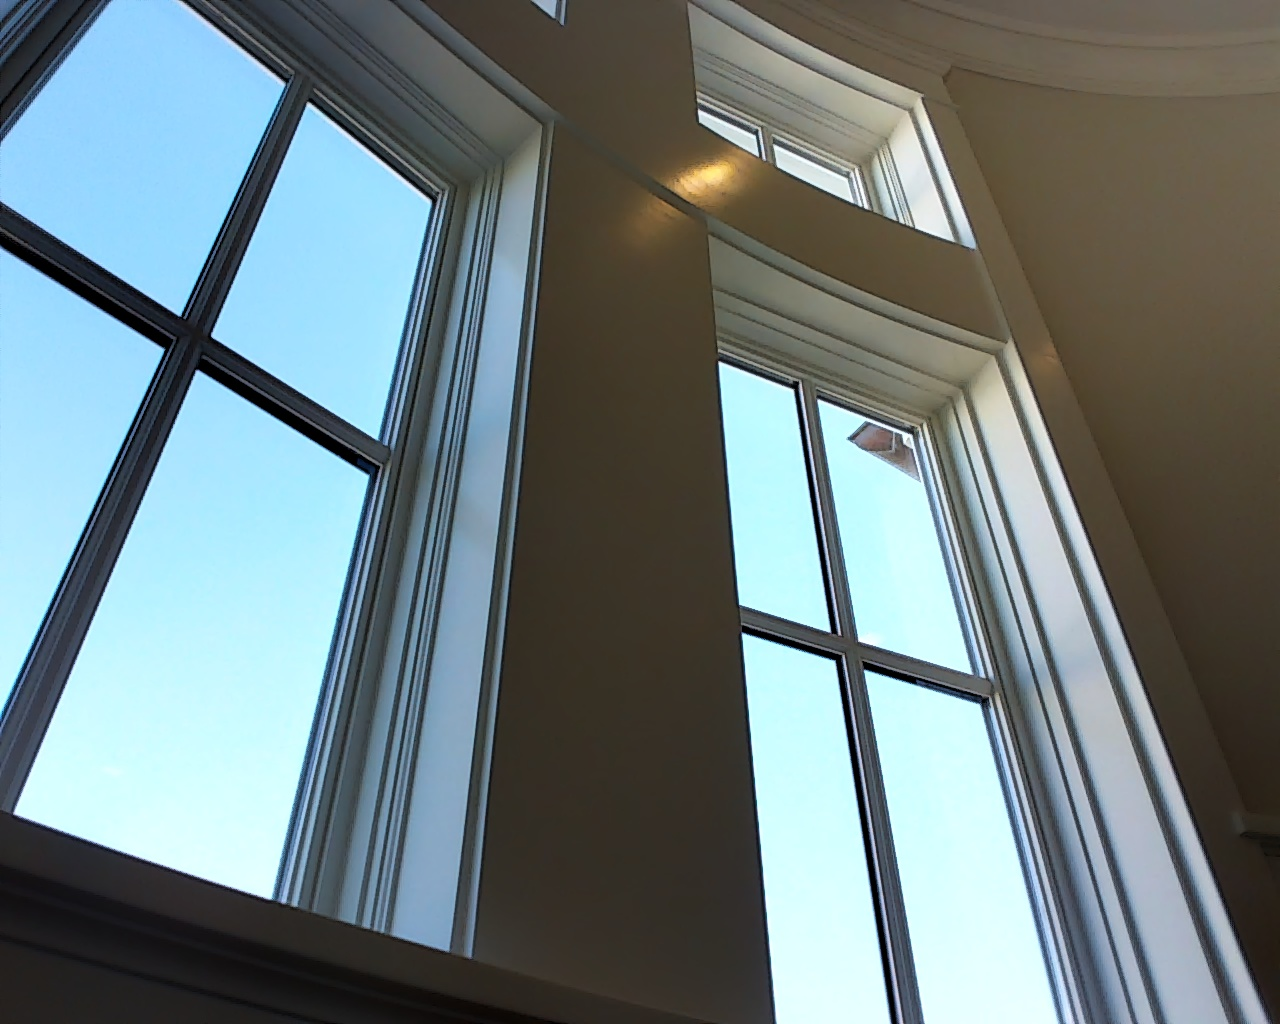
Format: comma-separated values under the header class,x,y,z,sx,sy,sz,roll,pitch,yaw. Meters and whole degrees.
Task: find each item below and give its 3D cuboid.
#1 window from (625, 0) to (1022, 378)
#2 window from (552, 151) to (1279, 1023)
class,x,y,z,sx,sy,sz,roll,pitch,yaw
window,0.330,-0.700,2.150,0.640,0.650,0.320,19,-46,-19
window,0.310,0.180,1.440,0.670,1.260,0.520,16,-45,-17
